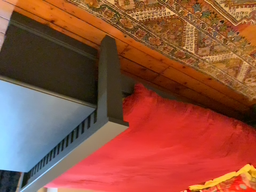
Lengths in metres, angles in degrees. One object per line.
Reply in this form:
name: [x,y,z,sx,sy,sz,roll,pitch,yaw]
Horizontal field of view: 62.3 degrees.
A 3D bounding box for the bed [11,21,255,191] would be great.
bed: [0.260,0.570,2.290,2.250,0.620,1.800,21,138,-31]
